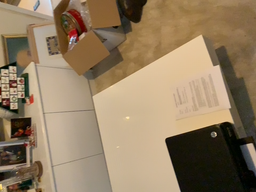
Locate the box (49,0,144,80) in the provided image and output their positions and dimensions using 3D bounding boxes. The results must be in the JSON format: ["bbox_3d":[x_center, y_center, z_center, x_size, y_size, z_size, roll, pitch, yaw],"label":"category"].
[{"bbox_3d":[-0.300,-0.570,1.810,0.660,0.350,0.640,-26,73,40],"label":"box"}]
